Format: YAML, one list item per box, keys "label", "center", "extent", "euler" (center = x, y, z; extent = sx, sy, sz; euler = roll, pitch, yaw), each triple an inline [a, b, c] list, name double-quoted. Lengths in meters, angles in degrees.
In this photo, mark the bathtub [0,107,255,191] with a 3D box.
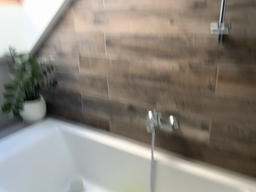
- label: "bathtub"
  center: [-0.170, 0.690, 1.270]
  extent: [2.030, 0.610, 0.920]
  euler: [11, 23, 30]
